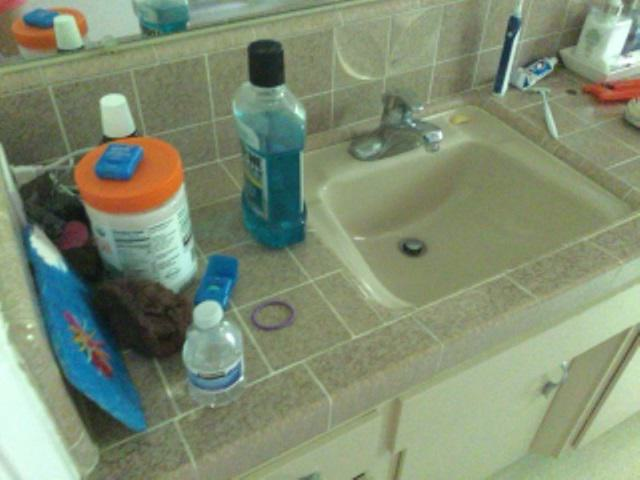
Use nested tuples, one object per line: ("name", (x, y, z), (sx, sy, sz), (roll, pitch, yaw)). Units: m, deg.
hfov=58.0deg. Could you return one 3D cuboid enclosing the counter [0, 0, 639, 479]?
("counter", (0.720, -0.340, 1.060), (2.690, 0.420, 0.650), (-19, 44, -20))
